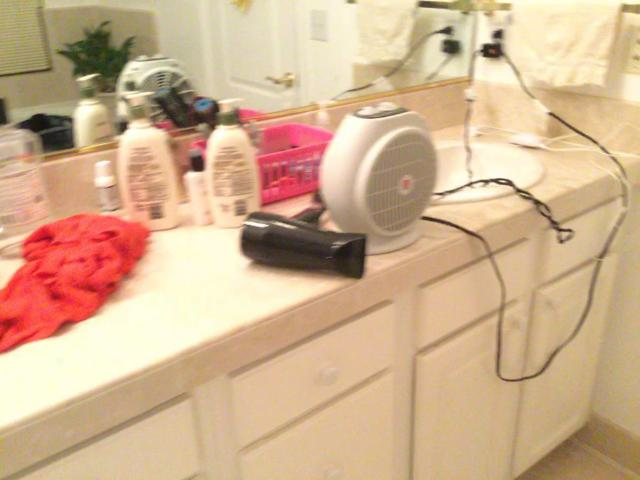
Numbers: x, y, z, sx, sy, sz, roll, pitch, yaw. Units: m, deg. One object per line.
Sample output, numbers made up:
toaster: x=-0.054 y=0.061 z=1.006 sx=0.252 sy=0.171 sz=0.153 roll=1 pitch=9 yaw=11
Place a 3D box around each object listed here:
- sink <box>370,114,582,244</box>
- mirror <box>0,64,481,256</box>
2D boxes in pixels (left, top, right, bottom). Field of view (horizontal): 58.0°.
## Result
sink: x=0.370 y=-0.170 z=1.410 sx=0.330 sy=0.190 sz=0.360 roll=-19 pitch=26 yaw=-33
mirror: x=-0.500 y=-0.130 z=1.140 sx=2.270 sy=0.180 sz=0.230 roll=-19 pitch=26 yaw=-33
